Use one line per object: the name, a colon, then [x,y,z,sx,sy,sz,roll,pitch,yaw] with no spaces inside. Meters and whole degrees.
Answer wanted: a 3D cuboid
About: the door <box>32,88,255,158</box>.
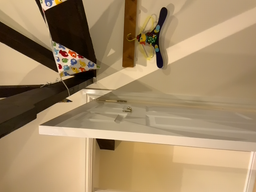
door: [0.700,0.120,1.170,0.970,2.020,0.090,-58,-27,-81]
